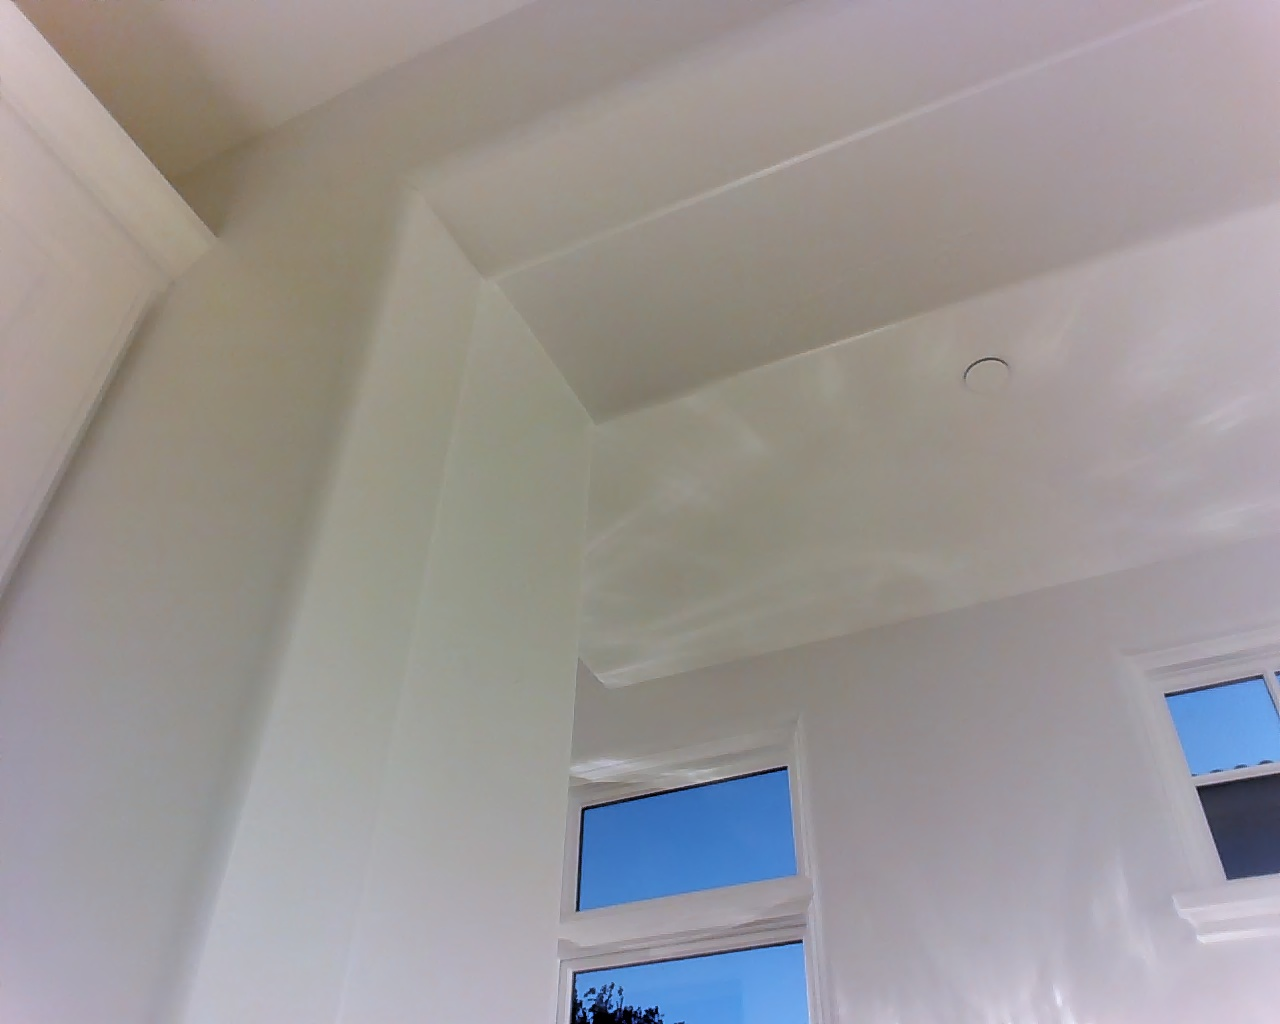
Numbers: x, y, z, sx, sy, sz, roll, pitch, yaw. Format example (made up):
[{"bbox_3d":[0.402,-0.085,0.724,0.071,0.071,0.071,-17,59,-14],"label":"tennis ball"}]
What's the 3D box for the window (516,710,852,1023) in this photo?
[{"bbox_3d":[0.080,1.311,2.260,0.750,1.801,0.160,-16,-45,19],"label":"window"}]
